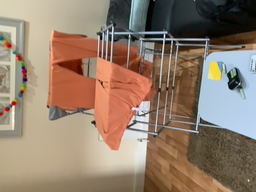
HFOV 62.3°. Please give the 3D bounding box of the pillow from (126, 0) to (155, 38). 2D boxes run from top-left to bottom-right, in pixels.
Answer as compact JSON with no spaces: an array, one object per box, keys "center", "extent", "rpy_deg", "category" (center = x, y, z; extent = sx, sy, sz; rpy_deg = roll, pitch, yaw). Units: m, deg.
[{"center":[0.110,-0.750,1.970],"extent":[0.210,0.210,0.380],"rpy_deg":[-105,19,-69],"category":"pillow"}]
